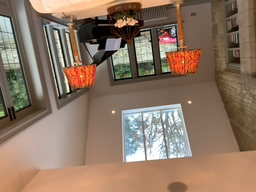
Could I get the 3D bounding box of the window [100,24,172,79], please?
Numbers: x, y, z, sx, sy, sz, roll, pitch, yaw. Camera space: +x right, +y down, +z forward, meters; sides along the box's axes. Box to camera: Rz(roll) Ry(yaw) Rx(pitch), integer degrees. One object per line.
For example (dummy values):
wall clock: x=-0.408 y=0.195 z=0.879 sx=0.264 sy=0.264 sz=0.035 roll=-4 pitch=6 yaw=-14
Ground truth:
window: x=0.260 y=-1.380 z=6.730 sx=2.120 sy=1.430 sz=0.110 roll=-7 pitch=-169 yaw=6

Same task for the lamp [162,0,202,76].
lamp: x=0.590 y=-0.690 z=2.350 sx=0.320 sy=0.870 sz=0.310 roll=-7 pitch=-169 yaw=5

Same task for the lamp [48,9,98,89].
lamp: x=-0.620 y=-0.530 z=2.490 sx=0.360 sy=0.830 sz=0.280 roll=-6 pitch=-169 yaw=7
